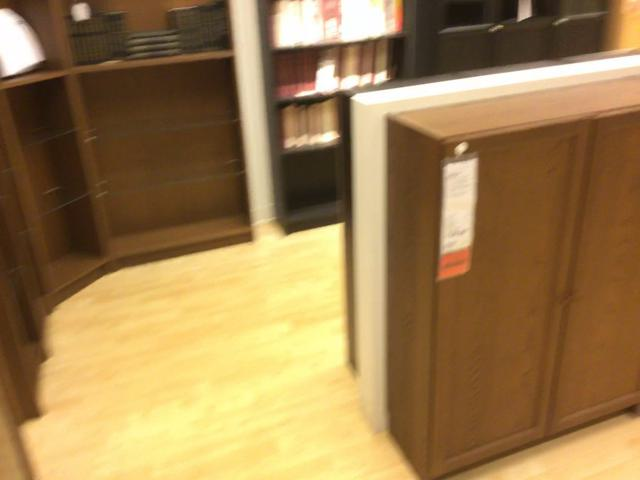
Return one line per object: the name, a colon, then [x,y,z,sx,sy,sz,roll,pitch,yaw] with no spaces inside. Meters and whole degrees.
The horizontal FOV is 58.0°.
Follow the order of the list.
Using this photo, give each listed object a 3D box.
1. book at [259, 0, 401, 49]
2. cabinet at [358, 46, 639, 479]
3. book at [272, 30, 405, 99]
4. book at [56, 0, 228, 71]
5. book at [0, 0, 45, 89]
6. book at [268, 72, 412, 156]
book: [0.050,-1.200,3.050,0.700,0.230,0.250,-11,39,-15]
cabinet: [0.820,0.070,1.700,1.260,1.080,0.530,-11,39,-15]
book: [0.100,-0.940,3.090,0.700,0.260,0.110,-11,39,-15]
book: [-0.840,-1.030,2.780,0.730,0.280,0.230,-11,39,-15]
book: [-1.350,-0.890,2.490,0.200,0.360,0.310,-11,39,-15]
book: [0.110,-0.700,3.190,0.750,0.310,0.190,-11,39,-15]
